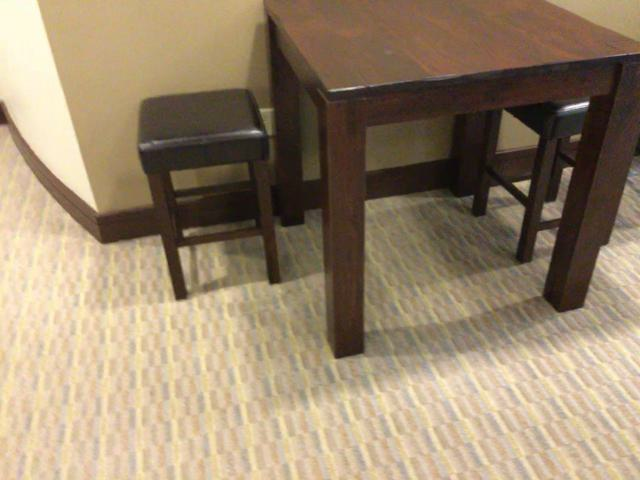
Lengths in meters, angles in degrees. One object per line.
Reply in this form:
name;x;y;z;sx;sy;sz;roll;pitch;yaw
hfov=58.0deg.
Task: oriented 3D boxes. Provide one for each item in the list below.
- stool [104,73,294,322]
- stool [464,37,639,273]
stool;-0.410;-0.170;2.170;0.490;0.680;0.560;-9;34;-3
stool;0.890;-0.340;2.240;0.460;0.670;0.560;-9;34;-3
